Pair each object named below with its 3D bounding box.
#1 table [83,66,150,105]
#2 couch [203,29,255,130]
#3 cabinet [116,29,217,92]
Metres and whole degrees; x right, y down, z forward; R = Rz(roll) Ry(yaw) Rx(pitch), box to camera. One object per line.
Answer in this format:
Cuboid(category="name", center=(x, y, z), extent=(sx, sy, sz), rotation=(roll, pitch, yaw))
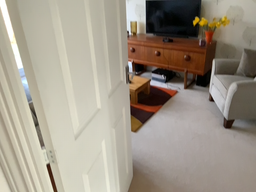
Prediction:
Cuboid(category="table", center=(-0.170, -0.190, 3.190), extent=(0.890, 0.260, 0.460), rotation=(15, 33, 29))
Cuboid(category="couch", center=(1.480, -0.230, 2.450), extent=(0.870, 0.900, 0.830), rotation=(-1, 28, 3))
Cuboid(category="cabinet", center=(0.570, -0.650, 3.530), extent=(1.510, 0.700, 0.480), rotation=(17, 33, 31))
